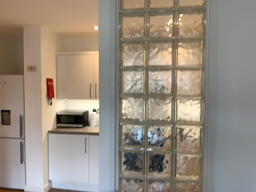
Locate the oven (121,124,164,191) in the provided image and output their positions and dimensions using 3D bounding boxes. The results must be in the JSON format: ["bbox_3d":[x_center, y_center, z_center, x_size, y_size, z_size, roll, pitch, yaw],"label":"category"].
[{"bbox_3d":[0.240,0.950,3.260,0.600,0.920,0.600,1,3,9],"label":"oven"}]

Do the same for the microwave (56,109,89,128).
[{"bbox_3d":[-0.920,0.370,3.550,0.430,0.250,0.340,1,3,9],"label":"microwave"}]
